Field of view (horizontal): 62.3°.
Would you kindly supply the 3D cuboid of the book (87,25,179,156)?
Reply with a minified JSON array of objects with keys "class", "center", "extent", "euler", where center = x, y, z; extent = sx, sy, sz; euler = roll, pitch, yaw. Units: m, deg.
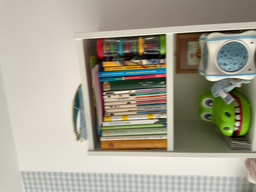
[{"class":"book","center":[0.030,-0.030,0.760],"extent":[0.240,0.260,0.400],"euler":[-67,-24,-74]}]
